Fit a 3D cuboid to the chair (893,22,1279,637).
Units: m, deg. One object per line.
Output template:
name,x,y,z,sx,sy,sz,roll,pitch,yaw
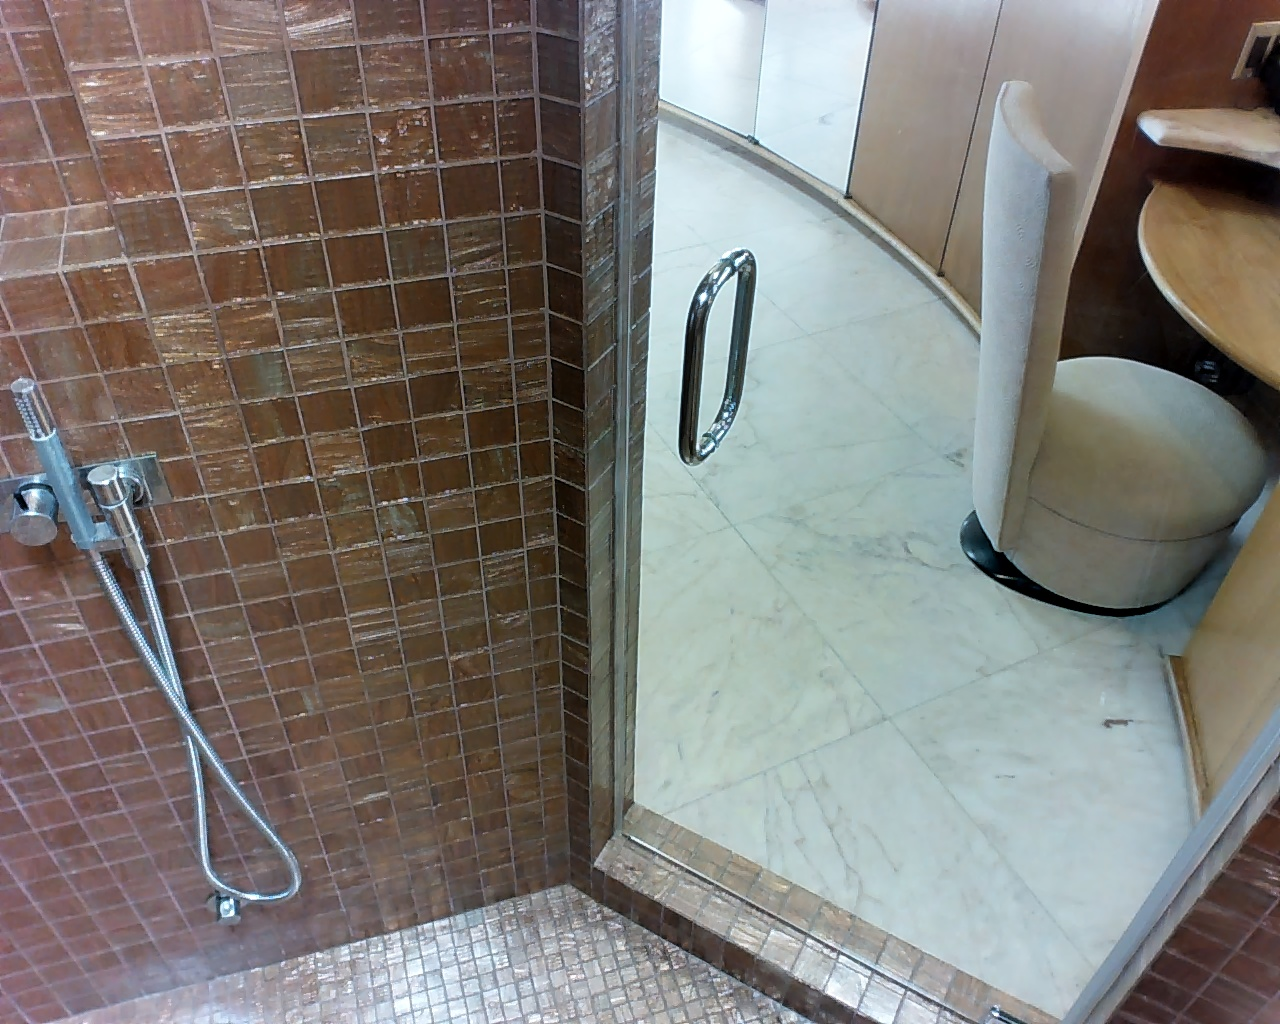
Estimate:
chair,0.960,-0.350,2.170,0.700,0.990,0.620,7,43,6
